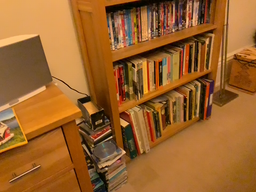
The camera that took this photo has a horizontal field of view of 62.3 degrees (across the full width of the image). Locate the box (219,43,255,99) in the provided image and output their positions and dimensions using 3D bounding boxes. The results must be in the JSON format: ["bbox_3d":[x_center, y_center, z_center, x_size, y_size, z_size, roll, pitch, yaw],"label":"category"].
[{"bbox_3d":[1.180,-0.260,2.130,0.300,0.410,0.330,-23,34,-27],"label":"box"}]
